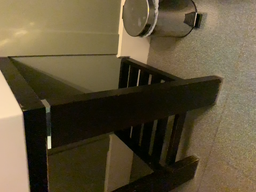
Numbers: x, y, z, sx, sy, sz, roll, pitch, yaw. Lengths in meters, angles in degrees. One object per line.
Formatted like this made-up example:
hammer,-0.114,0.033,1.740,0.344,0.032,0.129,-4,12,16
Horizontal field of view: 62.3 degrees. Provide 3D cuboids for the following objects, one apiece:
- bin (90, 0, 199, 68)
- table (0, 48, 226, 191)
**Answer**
bin,0.060,-0.290,0.900,0.250,0.350,0.250,35,125,45
table,-0.080,0.130,0.890,0.480,0.720,0.540,33,124,45
